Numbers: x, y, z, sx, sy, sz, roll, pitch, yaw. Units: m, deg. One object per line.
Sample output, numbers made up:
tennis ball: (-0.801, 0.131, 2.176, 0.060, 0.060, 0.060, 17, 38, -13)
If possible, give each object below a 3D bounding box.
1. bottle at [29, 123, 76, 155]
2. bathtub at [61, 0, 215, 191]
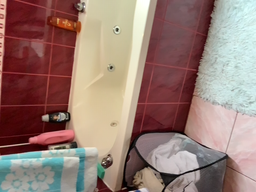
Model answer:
bottle: (-0.570, 0.320, 1.600, 0.180, 0.270, 0.140, -49, 54, 37)
bathtub: (0.040, -0.350, 1.510, 0.750, 0.550, 1.700, 23, 107, 47)
